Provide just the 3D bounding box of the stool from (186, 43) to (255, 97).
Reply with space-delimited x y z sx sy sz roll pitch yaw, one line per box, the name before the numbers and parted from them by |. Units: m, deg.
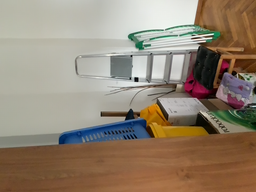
stool | 0.890 -0.260 2.050 0.340 0.480 0.420 -110 22 -61
